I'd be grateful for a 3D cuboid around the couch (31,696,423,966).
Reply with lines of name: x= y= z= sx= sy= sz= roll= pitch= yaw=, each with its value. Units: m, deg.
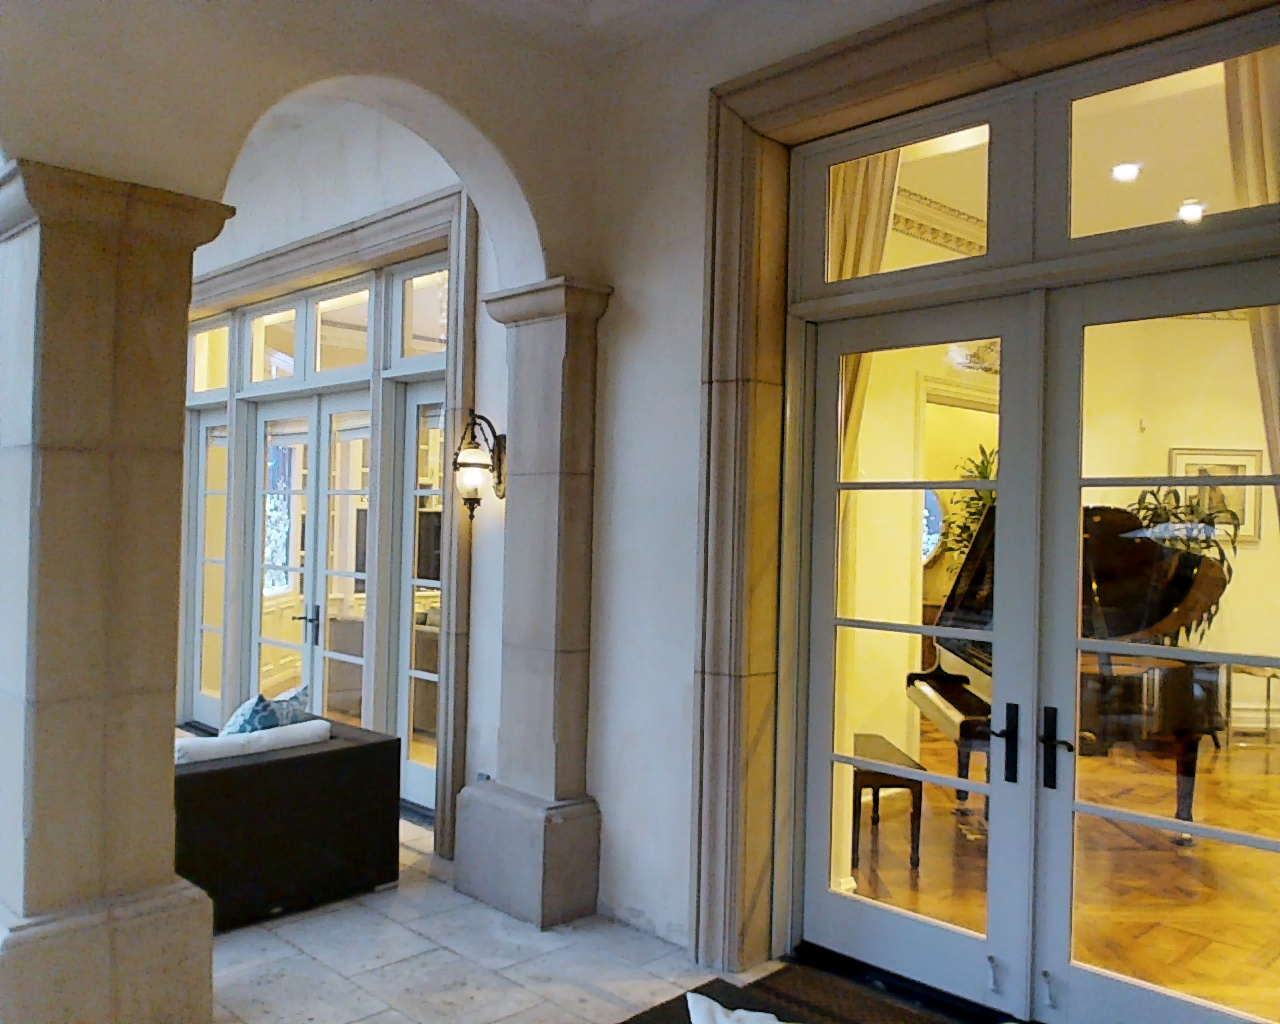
couch: x=-1.800 y=1.300 z=4.720 sx=1.070 sy=0.710 sz=1.250 roll=1 pitch=-1 yaw=42
